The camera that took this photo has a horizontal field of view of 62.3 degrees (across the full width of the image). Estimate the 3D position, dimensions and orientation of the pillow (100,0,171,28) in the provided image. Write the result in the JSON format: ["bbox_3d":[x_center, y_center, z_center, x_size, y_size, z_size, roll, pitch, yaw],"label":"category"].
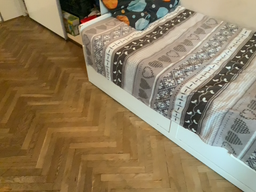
[{"bbox_3d":[0.080,-0.880,1.870,0.340,0.280,0.560,34,54,29],"label":"pillow"}]
